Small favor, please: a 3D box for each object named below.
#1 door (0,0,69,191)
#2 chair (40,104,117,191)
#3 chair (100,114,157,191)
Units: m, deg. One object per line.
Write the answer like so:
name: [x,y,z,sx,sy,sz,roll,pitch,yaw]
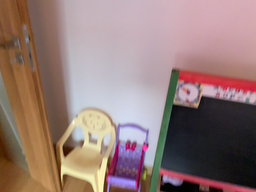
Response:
door: [-0.810,-0.280,1.150,0.890,2.010,0.110,17,35,18]
chair: [-0.320,0.420,1.540,0.380,0.560,0.350,11,34,9]
chair: [0.000,0.480,1.490,0.290,0.560,0.350,11,34,9]
